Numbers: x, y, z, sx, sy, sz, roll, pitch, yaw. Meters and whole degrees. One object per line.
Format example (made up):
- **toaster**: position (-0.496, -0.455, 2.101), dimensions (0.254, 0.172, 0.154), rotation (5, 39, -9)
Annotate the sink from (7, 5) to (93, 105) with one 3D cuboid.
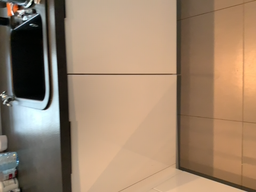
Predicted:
- **sink**: position (-0.400, -0.170, 1.050), dimensions (0.430, 0.230, 0.380), rotation (3, 95, 46)
